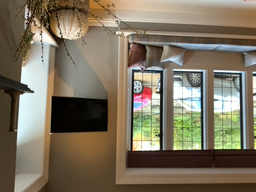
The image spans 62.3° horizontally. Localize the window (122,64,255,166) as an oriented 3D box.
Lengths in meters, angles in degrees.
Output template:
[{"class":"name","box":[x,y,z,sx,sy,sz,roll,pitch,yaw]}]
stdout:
[{"class":"window","box":[1.280,0.310,3.400,2.730,1.530,0.190,1,176,-3]}]
